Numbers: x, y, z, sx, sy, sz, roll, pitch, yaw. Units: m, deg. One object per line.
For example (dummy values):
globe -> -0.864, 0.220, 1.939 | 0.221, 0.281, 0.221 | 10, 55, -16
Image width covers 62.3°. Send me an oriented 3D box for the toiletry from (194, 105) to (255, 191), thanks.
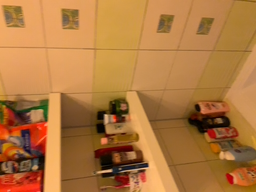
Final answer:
toiletry -> 0.590, 0.270, 1.190 | 0.470, 0.220, 0.130 | -107, 22, -44
